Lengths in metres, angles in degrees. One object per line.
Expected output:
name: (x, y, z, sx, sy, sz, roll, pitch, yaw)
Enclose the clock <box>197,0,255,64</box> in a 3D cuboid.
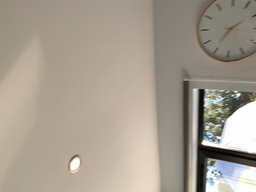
clock: (0.710, -0.440, 1.460, 0.040, 0.440, 0.430, -34, -56, -55)
